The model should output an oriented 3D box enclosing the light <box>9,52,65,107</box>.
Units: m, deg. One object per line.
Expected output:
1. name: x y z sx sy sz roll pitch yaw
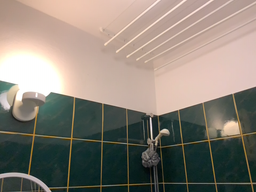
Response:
1. light: -0.470 -0.070 1.090 0.250 0.190 0.170 -25 -121 50
